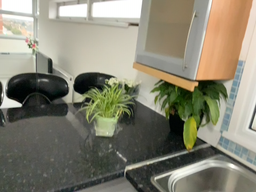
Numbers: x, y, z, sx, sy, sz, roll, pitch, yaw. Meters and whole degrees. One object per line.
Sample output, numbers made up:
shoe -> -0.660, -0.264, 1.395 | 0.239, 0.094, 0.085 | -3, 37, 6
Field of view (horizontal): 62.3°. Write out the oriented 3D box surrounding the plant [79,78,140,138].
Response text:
plant -> -0.110, 0.060, 1.260 | 0.300, 0.250, 0.270 | 6, 17, -5

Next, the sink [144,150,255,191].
sink -> 0.390, 0.480, 0.910 | 0.520, 0.220, 0.400 | -4, 20, -33

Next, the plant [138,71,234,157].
plant -> 0.310, 0.070, 1.230 | 0.290, 0.350, 0.380 | -4, 20, -33
